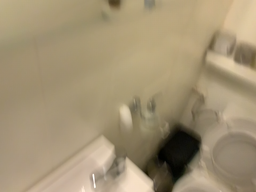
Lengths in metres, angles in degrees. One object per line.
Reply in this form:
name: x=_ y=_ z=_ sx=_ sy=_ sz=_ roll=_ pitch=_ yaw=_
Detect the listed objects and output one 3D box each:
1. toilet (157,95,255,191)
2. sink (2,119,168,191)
toilet: x=0.480 y=0.510 z=1.220 sx=0.410 sy=0.750 sz=0.620 roll=32 pitch=43 yaw=24
sink: x=-0.130 y=0.280 z=0.560 sx=0.220 sy=0.150 sz=0.460 roll=35 pitch=45 yaw=27
